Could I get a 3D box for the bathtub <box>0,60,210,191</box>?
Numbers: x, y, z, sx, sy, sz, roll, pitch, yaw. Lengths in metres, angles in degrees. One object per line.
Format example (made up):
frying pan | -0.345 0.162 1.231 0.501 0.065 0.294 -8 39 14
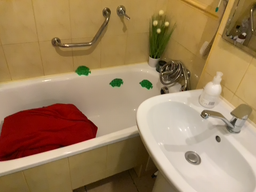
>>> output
bathtub | -0.290 0.230 1.450 1.420 0.510 0.680 -12 42 -23
